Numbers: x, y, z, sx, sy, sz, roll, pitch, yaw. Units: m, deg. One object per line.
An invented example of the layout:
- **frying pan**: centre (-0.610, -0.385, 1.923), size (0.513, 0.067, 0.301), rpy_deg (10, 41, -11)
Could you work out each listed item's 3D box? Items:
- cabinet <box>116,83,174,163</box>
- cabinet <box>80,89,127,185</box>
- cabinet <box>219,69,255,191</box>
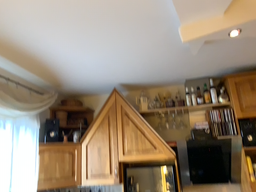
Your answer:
- **cabinet**: centre (0.200, 0.330, 2.470), size (0.570, 0.820, 0.380), rpy_deg (-6, -16, 11)
- **cabinet**: centre (-0.290, 0.480, 2.530), size (0.430, 1.020, 0.380), rpy_deg (-6, -16, 11)
- **cabinet**: centre (1.340, 0.380, 2.190), size (0.490, 1.260, 0.390), rpy_deg (-6, -16, 11)
